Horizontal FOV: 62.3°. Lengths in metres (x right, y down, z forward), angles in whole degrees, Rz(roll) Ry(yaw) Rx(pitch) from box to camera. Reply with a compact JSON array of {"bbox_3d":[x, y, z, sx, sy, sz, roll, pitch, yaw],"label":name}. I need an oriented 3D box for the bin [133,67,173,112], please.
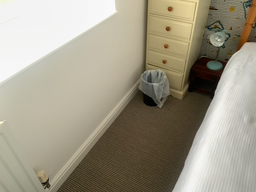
[{"bbox_3d":[0.230,-0.070,1.990,0.280,0.250,0.250,22,46,24],"label":"bin"}]
